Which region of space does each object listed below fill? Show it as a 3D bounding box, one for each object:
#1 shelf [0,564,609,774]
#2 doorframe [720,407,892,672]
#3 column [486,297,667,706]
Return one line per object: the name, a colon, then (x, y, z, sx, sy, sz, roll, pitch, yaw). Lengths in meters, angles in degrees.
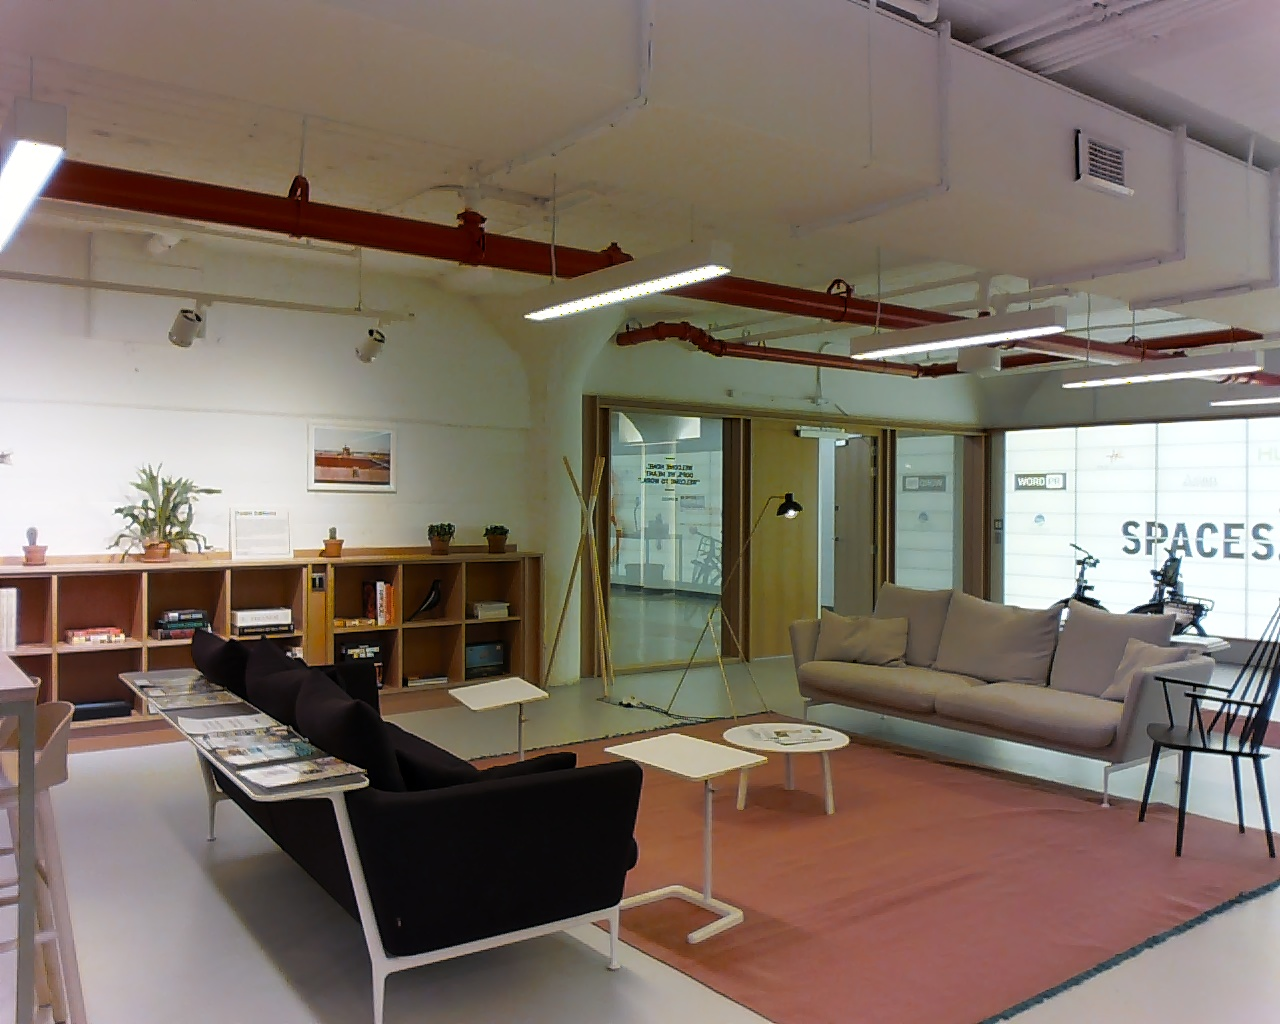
shelf: (-2.160, 0.900, 6.980, 4.479, 1.010, 0.490, 1, 0, -38)
doorframe: (1.620, 0.250, 10.250, 1.820, 2.351, 0.490, 1, 0, -38)
column: (-0.480, -0.070, 8.170, 1.160, 2.881, 0.690, 1, 0, -38)
